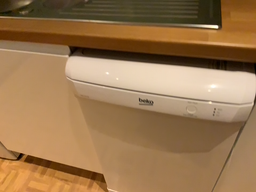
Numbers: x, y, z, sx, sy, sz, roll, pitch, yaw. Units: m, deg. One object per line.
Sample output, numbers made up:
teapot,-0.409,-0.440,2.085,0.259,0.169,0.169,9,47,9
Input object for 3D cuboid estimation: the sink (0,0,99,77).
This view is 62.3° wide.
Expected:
sink,-0.440,-0.350,0.900,0.440,0.210,0.520,8,46,14

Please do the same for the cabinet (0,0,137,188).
cabinet,-0.340,-0.080,1.120,0.600,0.930,0.620,8,46,14

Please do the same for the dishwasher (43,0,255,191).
dishwasher,0.160,0.030,0.970,0.460,0.930,0.690,8,46,14
